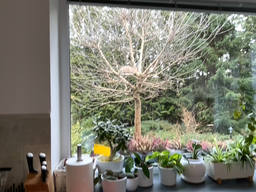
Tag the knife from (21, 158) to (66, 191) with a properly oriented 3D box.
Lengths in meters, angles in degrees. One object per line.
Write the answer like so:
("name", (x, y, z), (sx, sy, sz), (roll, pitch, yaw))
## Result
("knife", (-0.460, 0.510, 1.190), (0.180, 0.240, 0.270), (0, 1, -9))
